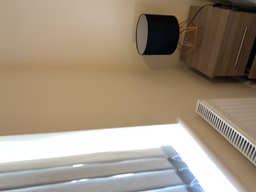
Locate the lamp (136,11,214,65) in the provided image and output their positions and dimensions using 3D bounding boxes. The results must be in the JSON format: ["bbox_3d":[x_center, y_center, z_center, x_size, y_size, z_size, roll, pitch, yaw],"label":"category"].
[{"bbox_3d":[0.290,-0.380,1.400,0.250,0.390,0.280,-119,31,-59],"label":"lamp"}]
